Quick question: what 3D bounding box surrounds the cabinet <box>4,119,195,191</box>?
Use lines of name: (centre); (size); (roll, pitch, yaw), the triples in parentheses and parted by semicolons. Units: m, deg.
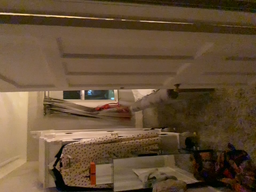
cabinet: (-0.530, 0.860, 3.800); (2.540, 2.270, 0.700); (147, 121, -74)
